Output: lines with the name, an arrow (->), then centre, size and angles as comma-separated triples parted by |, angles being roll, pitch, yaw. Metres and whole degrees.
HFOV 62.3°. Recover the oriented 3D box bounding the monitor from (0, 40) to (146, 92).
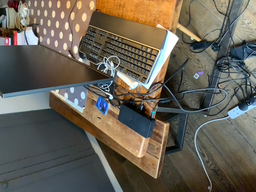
monitor -> -0.280, -0.130, 0.800 | 0.520, 0.470, 0.040 | 29, 114, 44
